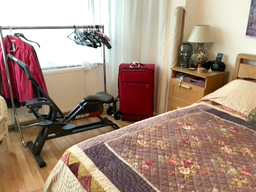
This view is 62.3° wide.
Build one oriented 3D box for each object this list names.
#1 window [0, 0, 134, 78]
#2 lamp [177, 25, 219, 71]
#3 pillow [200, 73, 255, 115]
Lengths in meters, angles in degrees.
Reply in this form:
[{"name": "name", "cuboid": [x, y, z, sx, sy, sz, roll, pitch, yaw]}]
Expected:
[{"name": "window", "cuboid": [-1.060, -1.020, 2.260, 2.390, 1.450, 0.590, -13, 24, -34]}, {"name": "lamp", "cuboid": [0.820, -0.580, 2.510, 0.310, 0.490, 0.280, -12, 23, -33]}, {"name": "pillow", "cuboid": [1.010, -0.040, 1.940, 0.350, 0.200, 0.540, -14, 24, -36]}]
